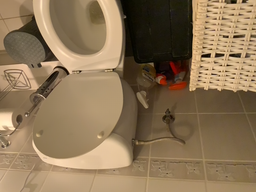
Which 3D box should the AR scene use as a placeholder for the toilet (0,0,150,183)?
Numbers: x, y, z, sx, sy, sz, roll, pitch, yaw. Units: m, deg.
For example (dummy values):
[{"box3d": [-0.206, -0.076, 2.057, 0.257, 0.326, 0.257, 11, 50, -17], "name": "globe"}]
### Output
[{"box3d": [-0.180, -0.180, 0.930, 0.420, 0.800, 0.650, -2, 129, 13], "name": "toilet"}]
